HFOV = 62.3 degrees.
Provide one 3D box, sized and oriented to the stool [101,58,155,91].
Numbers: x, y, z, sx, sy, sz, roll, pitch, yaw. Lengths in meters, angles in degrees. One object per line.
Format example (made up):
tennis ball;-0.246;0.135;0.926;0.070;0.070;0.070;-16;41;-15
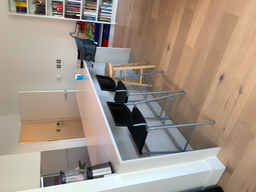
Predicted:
stool;-0.010;-0.300;2.960;0.340;0.630;0.330;-122;36;-53
